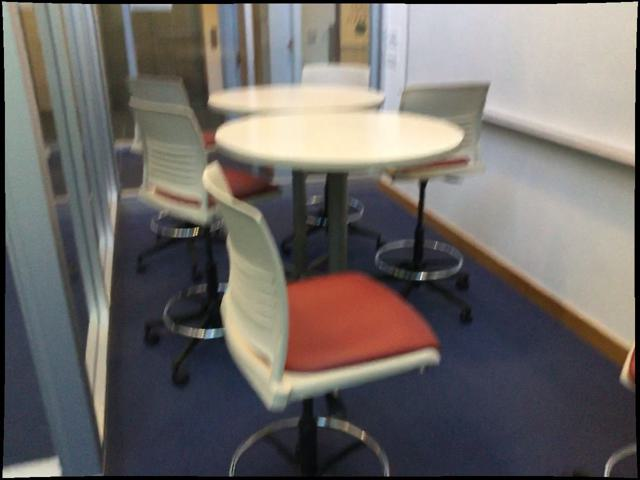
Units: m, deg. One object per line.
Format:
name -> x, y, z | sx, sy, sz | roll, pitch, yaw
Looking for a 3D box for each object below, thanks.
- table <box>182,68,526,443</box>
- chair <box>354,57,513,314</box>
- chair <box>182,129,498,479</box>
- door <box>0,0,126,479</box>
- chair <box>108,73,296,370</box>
table -> -0.020, -0.120, 2.640 | 0.939, 1.051, 1.550 | -8, 25, -17
chair -> 0.509, -0.280, 2.850 | 0.510, 1.121, 0.480 | -7, 25, -17
chair -> 0.000, 0.340, 1.530 | 0.560, 1.121, 0.540 | -8, 25, -17
door -> -0.879, -0.140, 2.000 | 0.170, 1.591, 1.150 | -8, 25, -17
chair -> -0.480, -0.110, 2.500 | 0.510, 1.081, 0.540 | -20, 31, -38
